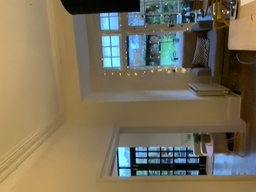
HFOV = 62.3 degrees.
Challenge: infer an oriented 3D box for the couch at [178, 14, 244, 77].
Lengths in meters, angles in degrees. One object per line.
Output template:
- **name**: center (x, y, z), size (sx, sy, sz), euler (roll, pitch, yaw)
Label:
- **couch**: center (1.450, -0.900, 3.940), size (0.970, 0.840, 0.970), euler (-80, -12, -79)
